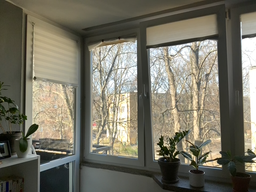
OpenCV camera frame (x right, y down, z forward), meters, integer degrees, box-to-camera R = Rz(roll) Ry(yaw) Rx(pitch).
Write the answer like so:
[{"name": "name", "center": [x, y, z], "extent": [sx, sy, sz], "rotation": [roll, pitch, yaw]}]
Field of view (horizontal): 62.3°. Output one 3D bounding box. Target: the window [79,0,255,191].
[{"name": "window", "center": [0.530, -0.030, 1.990], "extent": [2.530, 1.660, 0.140], "rotation": [-1, -3, 31]}]

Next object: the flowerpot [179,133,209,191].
[{"name": "flowerpot", "center": [0.560, 0.540, 1.790], "extent": [0.210, 0.430, 0.140], "rotation": [-1, -3, 31]}]

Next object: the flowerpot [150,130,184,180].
[{"name": "flowerpot", "center": [0.350, 0.510, 1.900], "extent": [0.250, 0.380, 0.170], "rotation": [-1, -3, 32]}]
